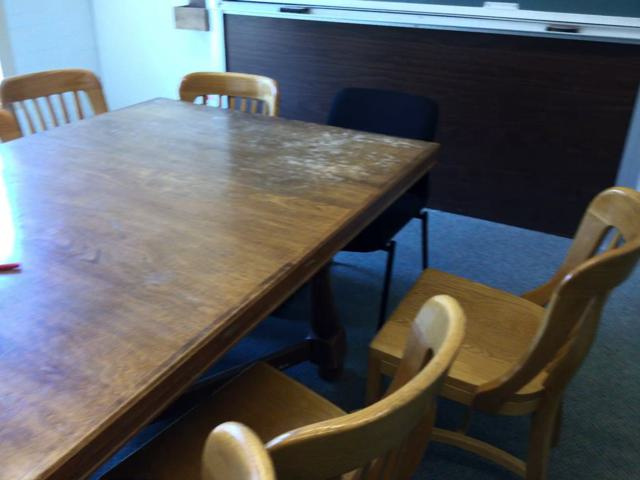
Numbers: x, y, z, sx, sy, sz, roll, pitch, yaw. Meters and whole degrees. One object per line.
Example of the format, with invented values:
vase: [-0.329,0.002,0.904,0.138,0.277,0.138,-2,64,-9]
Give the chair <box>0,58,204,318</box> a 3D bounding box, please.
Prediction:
chair: [-0.950,-0.260,2.450,0.620,0.860,0.590,14,28,24]

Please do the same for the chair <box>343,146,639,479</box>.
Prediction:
chair: [0.460,0.260,1.490,0.610,0.810,0.500,14,28,24]

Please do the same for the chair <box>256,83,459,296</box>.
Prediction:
chair: [0.150,-0.230,2.120,0.490,0.530,0.630,14,28,24]
